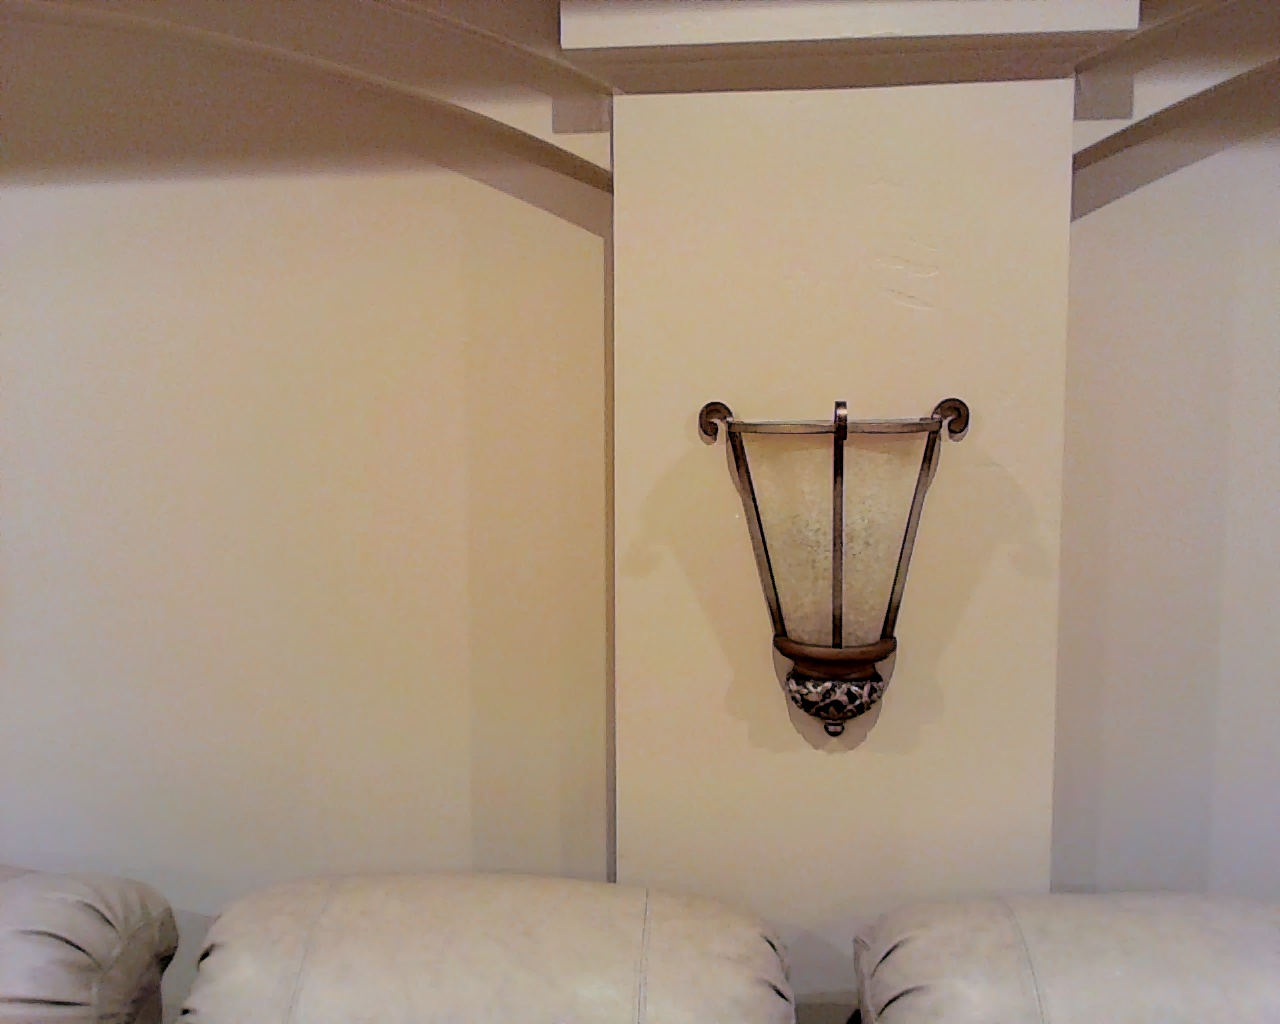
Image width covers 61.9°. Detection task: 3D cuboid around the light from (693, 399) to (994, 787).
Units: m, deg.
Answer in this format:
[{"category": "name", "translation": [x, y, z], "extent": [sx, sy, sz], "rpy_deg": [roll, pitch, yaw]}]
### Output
[{"category": "light", "translation": [0.210, 0.080, 1.150], "extent": [0.300, 0.400, 0.100], "rpy_deg": [0, 6, 6]}]
